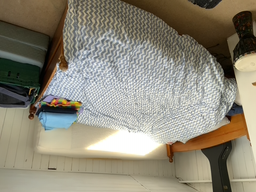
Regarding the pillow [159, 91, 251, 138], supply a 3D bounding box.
[{"bbox_3d":[0.810,0.250,2.360,0.530,0.250,0.780,13,154,-28],"label":"pillow"}]
